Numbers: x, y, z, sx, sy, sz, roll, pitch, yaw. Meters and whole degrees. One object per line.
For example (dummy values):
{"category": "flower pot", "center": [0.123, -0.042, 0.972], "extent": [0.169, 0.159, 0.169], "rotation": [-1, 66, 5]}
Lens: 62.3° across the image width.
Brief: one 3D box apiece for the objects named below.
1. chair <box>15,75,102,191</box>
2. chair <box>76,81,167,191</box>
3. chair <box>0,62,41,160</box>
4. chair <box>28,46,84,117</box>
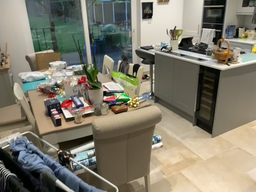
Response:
{"category": "chair", "center": [-0.570, 0.360, 1.850], "extent": [0.480, 0.950, 0.390], "rotation": [-18, 28, -34]}
{"category": "chair", "center": [-0.060, 0.440, 1.630], "extent": [0.450, 0.930, 0.530], "rotation": [-11, 25, -22]}
{"category": "chair", "center": [-1.350, 0.160, 2.380], "extent": [0.480, 0.950, 0.400], "rotation": [-13, 25, -25]}
{"category": "chair", "center": [-1.110, -0.260, 3.350], "extent": [0.600, 0.940, 0.450], "rotation": [17, 29, 37]}
